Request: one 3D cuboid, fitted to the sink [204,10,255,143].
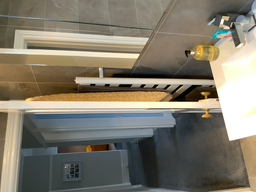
[{"bbox_3d":[0.580,-0.100,0.850,0.620,0.110,0.490,129,139,-66],"label":"sink"}]
